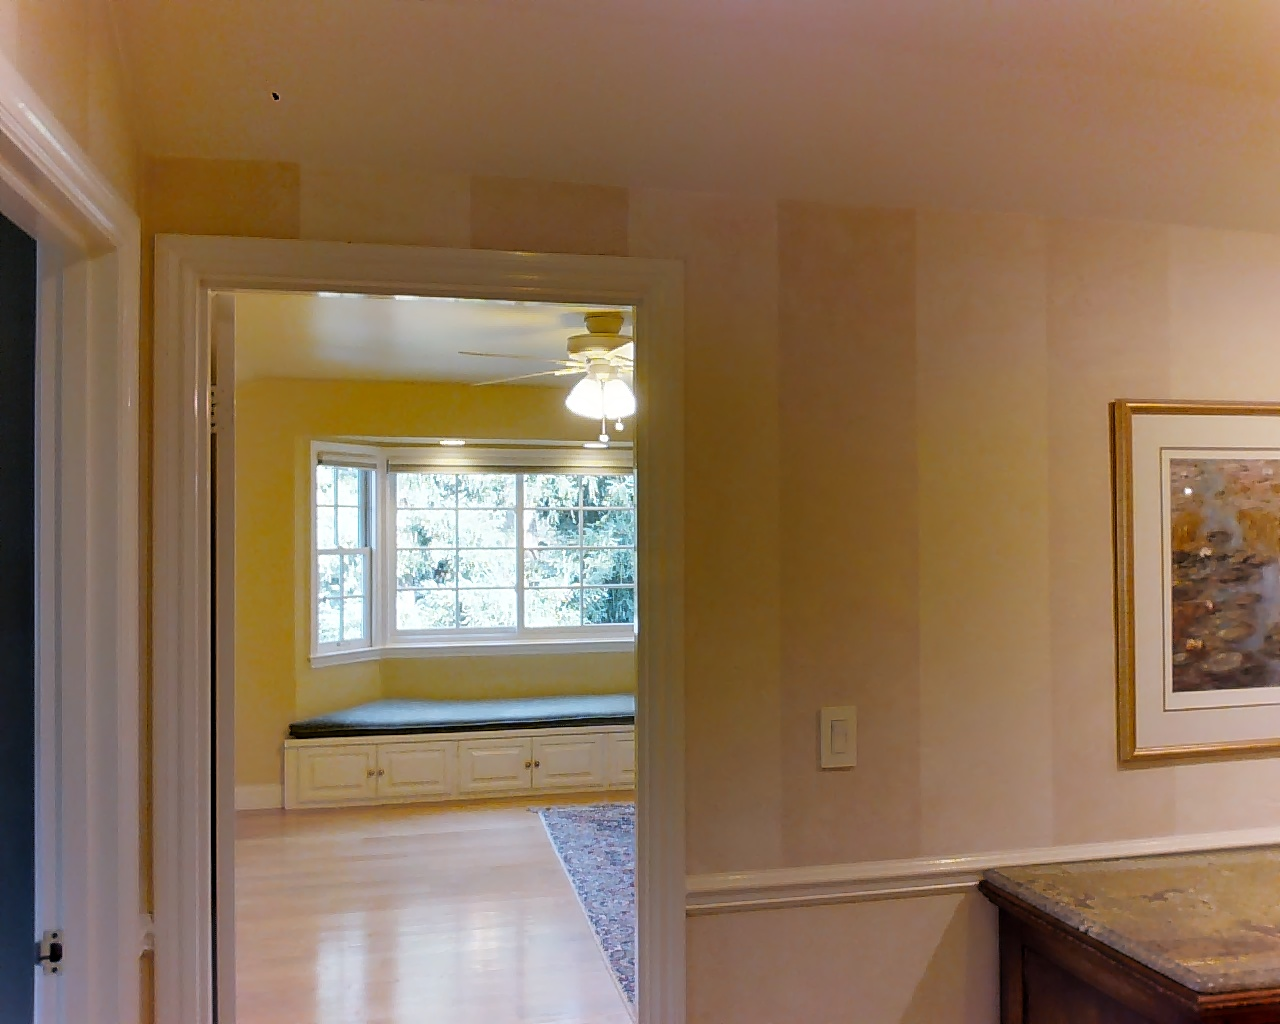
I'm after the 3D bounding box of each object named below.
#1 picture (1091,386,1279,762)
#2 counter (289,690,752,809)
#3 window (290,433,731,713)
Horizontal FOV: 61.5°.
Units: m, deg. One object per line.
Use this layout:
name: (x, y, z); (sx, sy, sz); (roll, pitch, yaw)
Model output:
picture: (1.410, 0.130, 2.420); (0.840, 0.800, 0.070); (0, -1, -13)
counter: (-0.710, 1.440, 6.680); (2.750, 0.470, 0.590); (0, -1, -13)
window: (-0.790, 0.350, 6.780); (2.650, 1.610, 0.620); (0, -1, -13)
